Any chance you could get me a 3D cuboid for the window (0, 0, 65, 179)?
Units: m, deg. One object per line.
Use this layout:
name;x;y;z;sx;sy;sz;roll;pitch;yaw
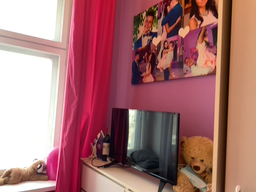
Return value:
window;-1.100;-0.240;2.180;0.690;2.040;0.250;7;-4;-38
